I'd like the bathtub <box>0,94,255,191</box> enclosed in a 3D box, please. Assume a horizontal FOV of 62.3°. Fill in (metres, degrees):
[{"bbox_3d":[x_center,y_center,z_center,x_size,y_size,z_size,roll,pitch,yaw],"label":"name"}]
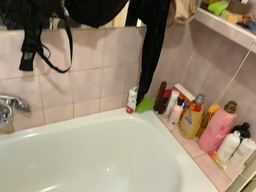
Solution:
[{"bbox_3d":[-0.240,0.550,1.110,1.650,0.560,0.680,-11,43,-25],"label":"bathtub"}]
